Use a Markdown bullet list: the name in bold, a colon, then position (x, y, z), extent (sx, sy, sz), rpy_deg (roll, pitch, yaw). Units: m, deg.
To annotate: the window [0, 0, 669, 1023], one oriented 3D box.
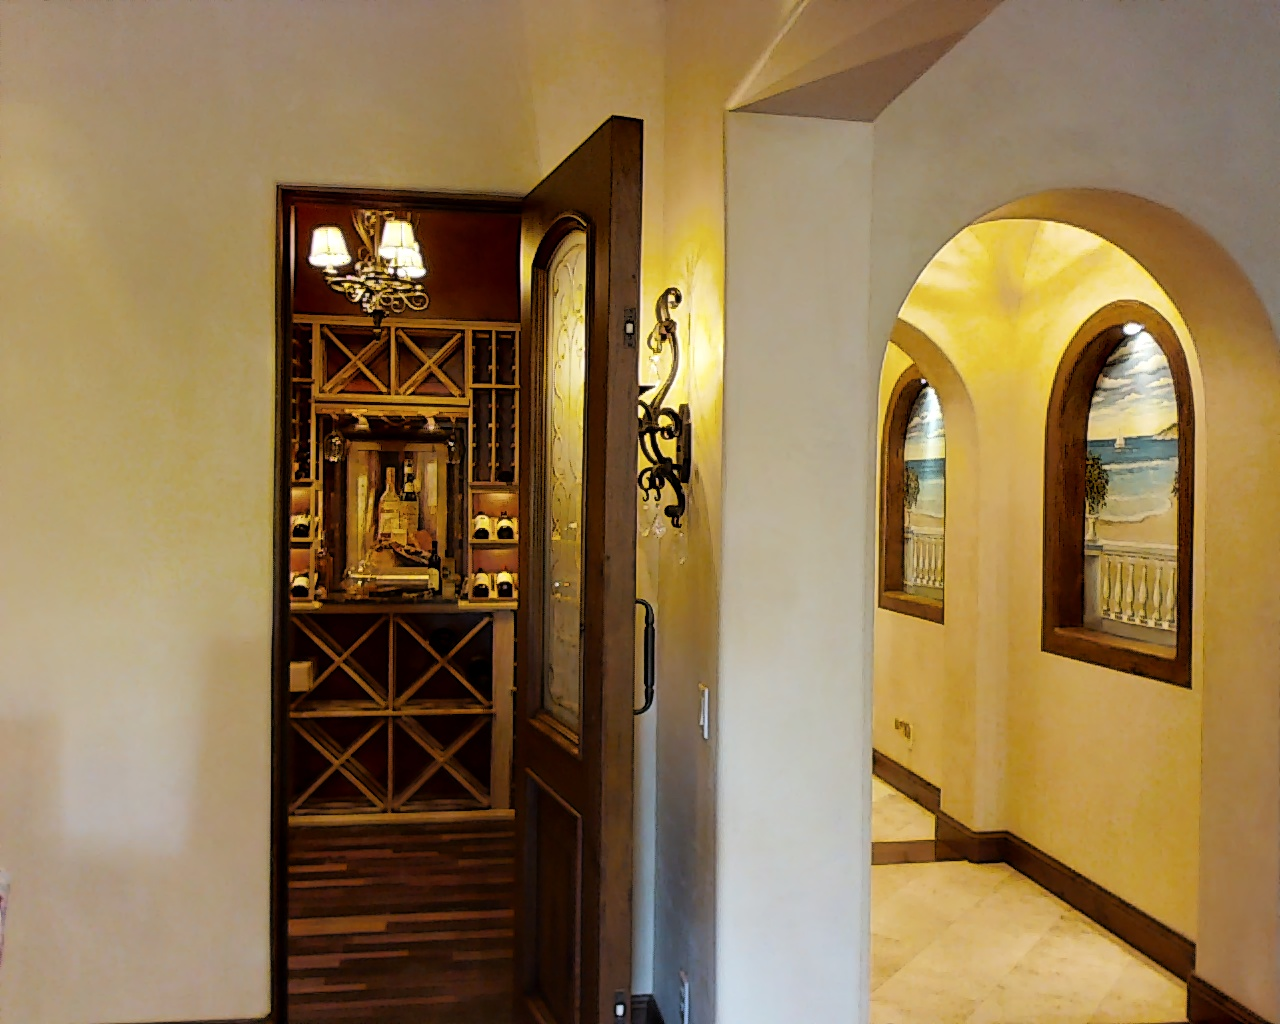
- **window**: position (-0.780, 0.000, 2.890), extent (1.680, 3.000, 0.160), rpy_deg (1, 1, -9)
